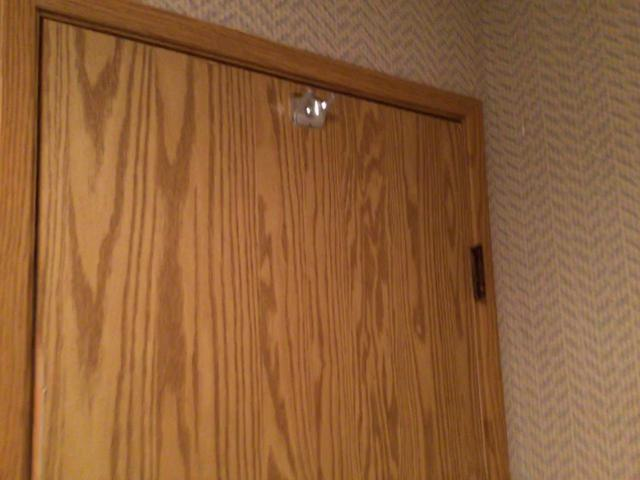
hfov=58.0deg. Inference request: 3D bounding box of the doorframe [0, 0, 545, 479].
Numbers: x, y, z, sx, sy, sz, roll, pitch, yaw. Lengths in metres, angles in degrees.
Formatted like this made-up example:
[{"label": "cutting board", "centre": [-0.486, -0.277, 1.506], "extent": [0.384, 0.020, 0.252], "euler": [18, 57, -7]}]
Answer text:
[{"label": "doorframe", "centre": [0.040, 0.710, 0.700], "extent": [0.870, 2.050, 0.030], "euler": [6, -11, -37]}]
